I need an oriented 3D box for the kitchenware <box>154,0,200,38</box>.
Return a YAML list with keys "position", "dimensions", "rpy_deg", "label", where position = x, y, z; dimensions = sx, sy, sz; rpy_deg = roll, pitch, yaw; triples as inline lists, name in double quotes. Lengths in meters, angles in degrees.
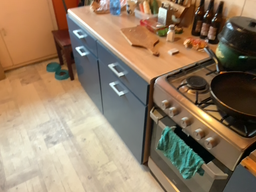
- position: [0.330, -0.570, 1.480]
  dimensions: [0.180, 0.220, 0.230]
  rpy_deg: [-19, 44, -22]
  label: "kitchenware"
